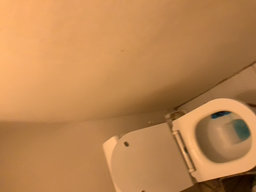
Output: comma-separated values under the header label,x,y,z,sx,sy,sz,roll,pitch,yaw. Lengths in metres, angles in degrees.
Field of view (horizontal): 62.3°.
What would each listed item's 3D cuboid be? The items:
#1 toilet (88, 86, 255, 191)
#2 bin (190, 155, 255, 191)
label,x,y,z,sx,sy,sz,roll,pitch,yaw
toilet,0.340,0.280,1.180,0.680,0.850,0.360,-42,61,46
bin,0.650,0.510,1.260,0.410,0.300,0.200,-42,61,46
